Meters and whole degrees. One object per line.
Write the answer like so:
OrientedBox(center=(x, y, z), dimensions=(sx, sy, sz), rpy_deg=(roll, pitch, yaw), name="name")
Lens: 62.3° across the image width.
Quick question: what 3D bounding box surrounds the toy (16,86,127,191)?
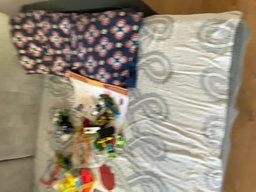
OrientedBox(center=(-0.380, 0.360, 1.280), dimensions=(0.630, 0.190, 0.730), rpy_deg=(15, 97, 34), name="toy")
